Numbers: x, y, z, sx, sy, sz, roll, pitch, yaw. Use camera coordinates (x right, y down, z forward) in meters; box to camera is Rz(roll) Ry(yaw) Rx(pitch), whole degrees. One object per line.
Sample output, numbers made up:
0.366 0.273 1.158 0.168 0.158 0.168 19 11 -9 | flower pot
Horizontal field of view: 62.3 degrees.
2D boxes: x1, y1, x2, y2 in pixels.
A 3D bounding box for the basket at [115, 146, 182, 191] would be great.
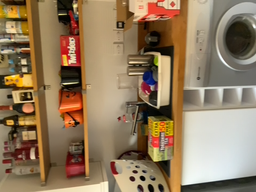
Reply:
0.110 0.630 1.560 0.590 0.310 0.290 -144 53 -74 | basket
